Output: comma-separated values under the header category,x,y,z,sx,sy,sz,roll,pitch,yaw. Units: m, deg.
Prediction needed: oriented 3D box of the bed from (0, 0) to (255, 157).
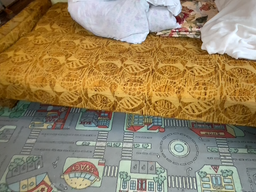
category,x,y,z,sx,sy,sz,roll,pitch,yaw
bed,0.150,-0.260,1.490,2.190,0.430,1.070,6,44,10
